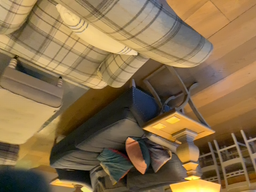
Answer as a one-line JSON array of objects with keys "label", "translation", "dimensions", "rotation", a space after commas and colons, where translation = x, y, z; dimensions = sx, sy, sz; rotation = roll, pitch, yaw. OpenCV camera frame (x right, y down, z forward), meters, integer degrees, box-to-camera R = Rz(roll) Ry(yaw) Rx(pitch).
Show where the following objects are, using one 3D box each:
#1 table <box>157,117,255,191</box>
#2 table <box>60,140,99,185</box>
[{"label": "table", "translation": [1.720, 1.170, 3.630], "dimensions": [0.990, 0.780, 2.350], "rotation": [25, 138, -32]}, {"label": "table", "translation": [-0.830, 1.160, 3.680], "dimensions": [0.490, 0.590, 0.370], "rotation": [23, 139, -30]}]
